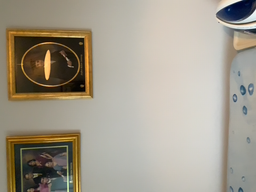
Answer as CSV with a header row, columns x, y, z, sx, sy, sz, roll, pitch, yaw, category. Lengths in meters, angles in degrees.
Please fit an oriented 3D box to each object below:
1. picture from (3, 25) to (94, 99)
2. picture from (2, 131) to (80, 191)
x,y,z,sx,sy,sz,roll,pitch,yaw,category
-0.330,-0.140,0.920,0.040,0.360,0.300,-145,55,-79,picture
-0.370,0.340,0.930,0.030,0.310,0.360,-156,66,-80,picture
